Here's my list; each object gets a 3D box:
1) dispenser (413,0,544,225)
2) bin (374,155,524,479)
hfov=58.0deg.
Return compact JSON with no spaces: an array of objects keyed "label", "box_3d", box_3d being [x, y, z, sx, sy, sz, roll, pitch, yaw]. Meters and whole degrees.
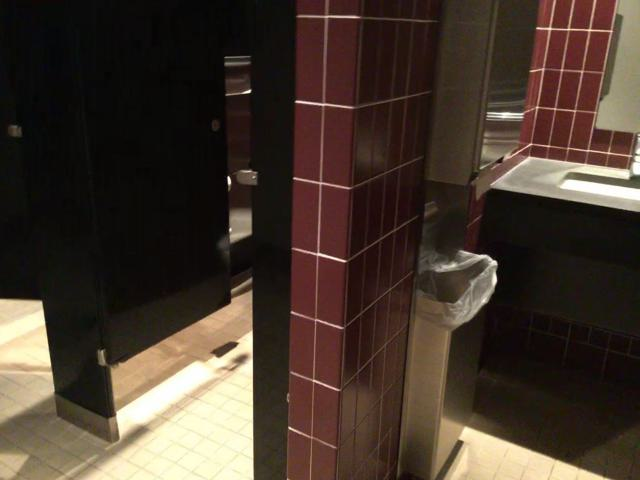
[{"label":"dispenser","box_3d":[0.420,-0.370,1.510,0.160,0.550,0.420,13,23,30]},{"label":"bin","box_3d":[0.390,0.220,1.760,0.230,0.860,0.460,13,23,30]}]
